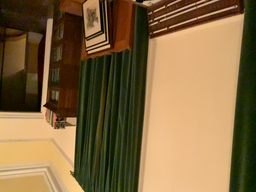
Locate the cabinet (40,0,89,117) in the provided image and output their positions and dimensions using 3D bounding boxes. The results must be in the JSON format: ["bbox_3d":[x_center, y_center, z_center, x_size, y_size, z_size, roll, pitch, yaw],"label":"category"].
[{"bbox_3d":[-1.100,-0.690,3.550,0.380,1.920,1.090,4,-177,-31],"label":"cabinet"}]
